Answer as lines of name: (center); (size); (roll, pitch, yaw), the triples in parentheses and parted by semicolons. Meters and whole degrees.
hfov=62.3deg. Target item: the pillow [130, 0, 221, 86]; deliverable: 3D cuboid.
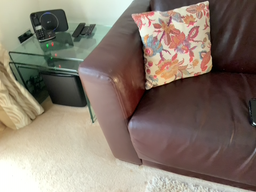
pillow: (0.240, -0.260, 1.110); (0.420, 0.390, 0.120); (-2, 18, -19)

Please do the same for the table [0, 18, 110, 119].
table: (-0.550, -0.250, 1.740); (0.570, 0.550, 0.540); (10, 42, 17)
